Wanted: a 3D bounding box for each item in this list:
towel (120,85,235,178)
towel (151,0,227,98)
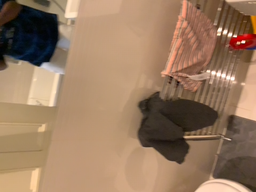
[{"bbox_3d":[0.240,0.140,0.920,0.160,0.510,0.290,18,98,48],"label":"towel"},{"bbox_3d":[0.260,-0.190,0.880,0.100,0.260,0.360,18,98,48],"label":"towel"}]
